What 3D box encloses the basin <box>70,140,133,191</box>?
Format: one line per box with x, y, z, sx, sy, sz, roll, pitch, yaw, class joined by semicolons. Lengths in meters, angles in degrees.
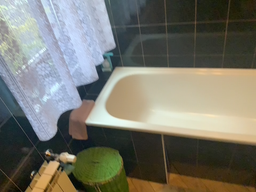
-0.180;0.570;1.600;0.320;0.350;0.260;6;42;21;basin
